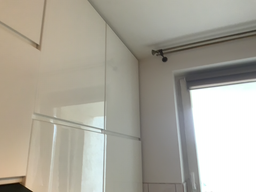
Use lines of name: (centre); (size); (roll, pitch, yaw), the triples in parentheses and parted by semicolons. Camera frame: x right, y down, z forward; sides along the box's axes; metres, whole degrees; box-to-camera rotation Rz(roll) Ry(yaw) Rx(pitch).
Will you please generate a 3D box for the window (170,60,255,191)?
window: (0.780, 0.520, 1.500); (0.810, 1.530, 0.170); (-8, -17, 21)
